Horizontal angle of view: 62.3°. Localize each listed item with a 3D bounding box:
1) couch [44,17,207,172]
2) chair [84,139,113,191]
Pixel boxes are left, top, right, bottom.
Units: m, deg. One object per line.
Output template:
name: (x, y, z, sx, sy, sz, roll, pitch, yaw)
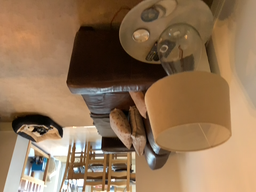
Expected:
couch: (0.030, 0.230, 2.390, 1.020, 0.860, 1.970, -2, 151, 3)
chair: (-0.600, 1.480, 4.520, 0.460, 1.010, 0.470, -2, 151, 3)
